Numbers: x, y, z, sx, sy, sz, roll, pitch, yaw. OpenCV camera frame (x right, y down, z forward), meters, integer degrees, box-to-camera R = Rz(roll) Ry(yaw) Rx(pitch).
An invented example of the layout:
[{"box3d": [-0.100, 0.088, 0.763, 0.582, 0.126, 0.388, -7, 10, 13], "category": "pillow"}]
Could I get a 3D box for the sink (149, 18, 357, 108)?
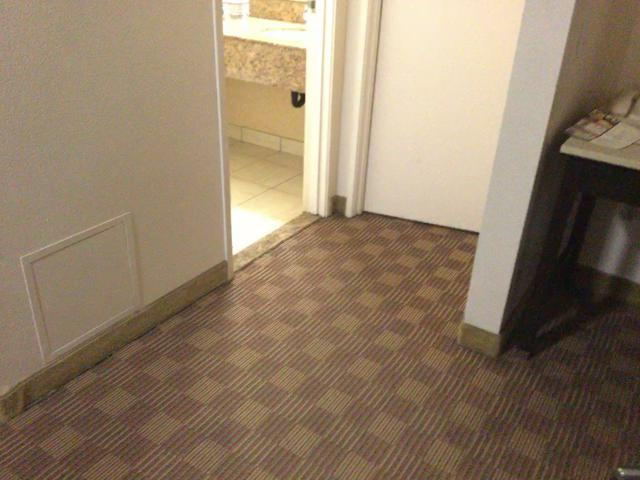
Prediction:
[{"box3d": [-0.360, -0.990, 3.140, 0.940, 0.310, 0.580, 16, 28, 27], "category": "sink"}]
